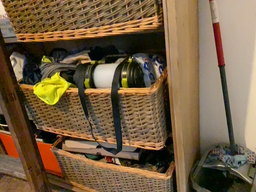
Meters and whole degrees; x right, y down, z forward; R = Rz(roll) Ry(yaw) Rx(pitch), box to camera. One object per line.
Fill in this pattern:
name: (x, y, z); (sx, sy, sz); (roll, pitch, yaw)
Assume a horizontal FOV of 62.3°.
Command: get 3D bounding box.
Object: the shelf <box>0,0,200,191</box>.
shelf: (-0.350, -0.100, 1.130); (1.340, 1.370, 0.410); (5, 30, 27)
